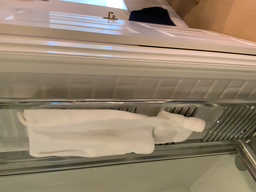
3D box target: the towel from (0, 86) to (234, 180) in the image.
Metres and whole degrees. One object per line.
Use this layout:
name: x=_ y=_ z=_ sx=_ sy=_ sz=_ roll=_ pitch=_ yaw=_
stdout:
towel: x=-0.030 y=0.170 z=1.020 sx=0.410 sy=0.950 sz=0.180 roll=110 pitch=153 yaw=-44
